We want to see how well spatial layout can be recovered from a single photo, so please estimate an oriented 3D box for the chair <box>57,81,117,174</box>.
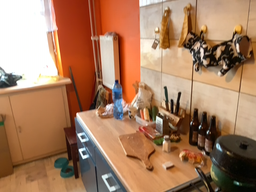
[{"bbox_3d":[-0.490,0.350,2.550,0.530,0.920,0.440,-10,20,-23],"label":"chair"}]
